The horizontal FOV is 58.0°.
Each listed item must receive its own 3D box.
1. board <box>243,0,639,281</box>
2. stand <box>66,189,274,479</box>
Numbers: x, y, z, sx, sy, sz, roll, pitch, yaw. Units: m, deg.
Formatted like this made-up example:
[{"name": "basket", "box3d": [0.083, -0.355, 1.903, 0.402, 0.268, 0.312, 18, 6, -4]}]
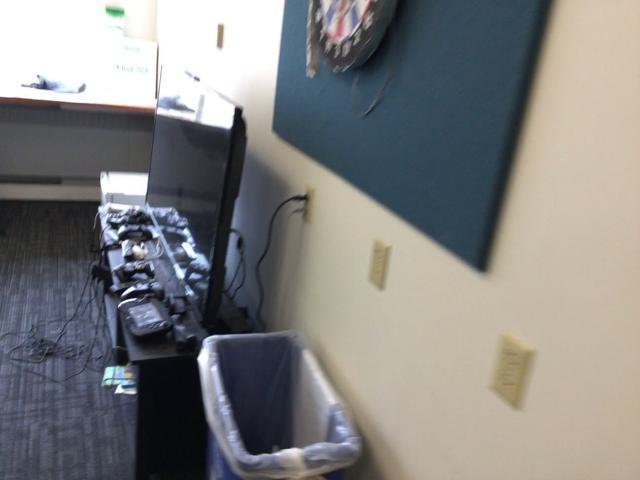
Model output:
[{"name": "board", "box3d": [0.140, -0.720, 1.240, 0.100, 1.210, 1.280, -2, 20, -27]}, {"name": "stand", "box3d": [-0.730, 0.320, 2.410, 0.510, 0.720, 1.450, -2, 20, -27]}]
